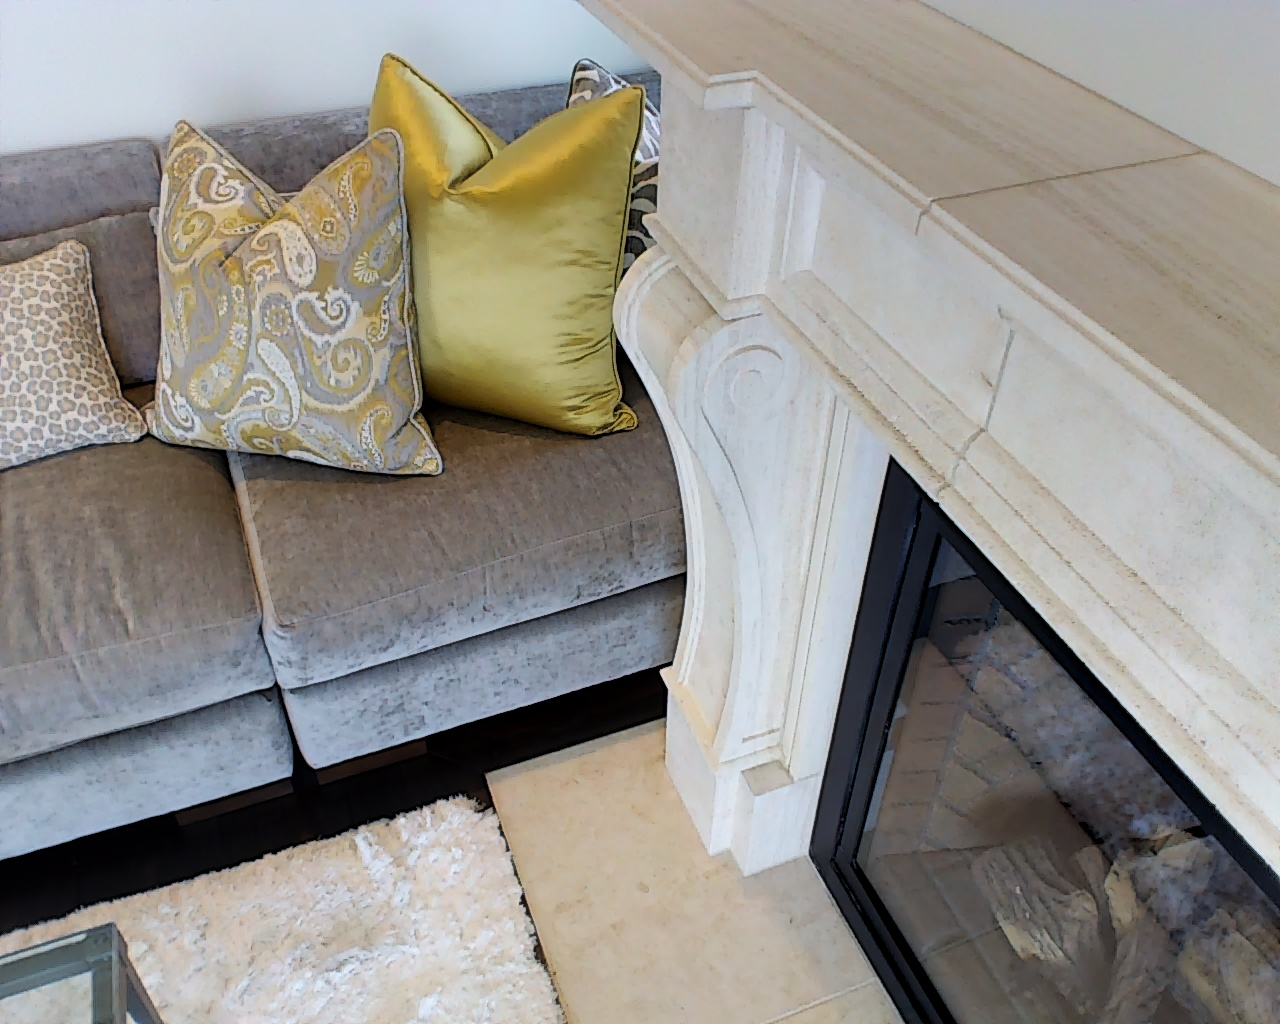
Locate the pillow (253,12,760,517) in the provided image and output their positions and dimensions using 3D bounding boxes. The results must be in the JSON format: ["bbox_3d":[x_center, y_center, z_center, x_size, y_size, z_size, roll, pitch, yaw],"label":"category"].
[{"bbox_3d":[-0.230,-0.410,1.740,0.630,0.530,0.300,29,31,8],"label":"pillow"}]

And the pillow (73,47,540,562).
[{"bbox_3d":[-0.520,-0.320,1.680,0.530,0.560,0.340,20,32,-4],"label":"pillow"}]
